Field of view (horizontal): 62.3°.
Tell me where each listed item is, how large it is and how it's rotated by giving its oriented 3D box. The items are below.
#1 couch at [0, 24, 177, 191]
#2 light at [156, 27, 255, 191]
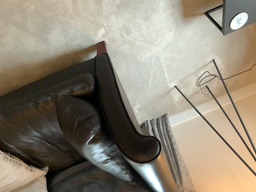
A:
[{"bbox_3d":[-0.760,0.550,1.510,1.960,0.890,1.070,-22,143,4],"label":"couch"},{"bbox_3d":[0.830,0.400,1.550,0.590,1.650,0.820,-22,143,4],"label":"light"}]
